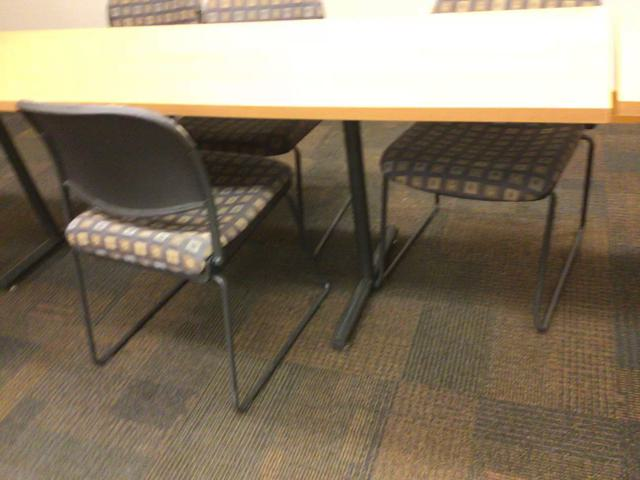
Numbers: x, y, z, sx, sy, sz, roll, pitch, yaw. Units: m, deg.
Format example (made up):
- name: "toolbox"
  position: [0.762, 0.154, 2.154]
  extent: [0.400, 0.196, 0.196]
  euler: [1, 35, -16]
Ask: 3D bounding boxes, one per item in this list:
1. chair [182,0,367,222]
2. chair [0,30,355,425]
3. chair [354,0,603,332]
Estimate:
- name: "chair"
  position: [-0.130, -0.490, 2.060]
  extent: [0.490, 0.800, 0.240]
  euler: [6, 33, 21]
- name: "chair"
  position: [-0.320, -0.070, 1.480]
  extent: [0.600, 0.750, 0.580]
  euler: [6, 33, 22]
- name: "chair"
  position: [0.430, -0.270, 1.490]
  extent: [0.450, 0.710, 0.620]
  euler: [6, 33, 22]
